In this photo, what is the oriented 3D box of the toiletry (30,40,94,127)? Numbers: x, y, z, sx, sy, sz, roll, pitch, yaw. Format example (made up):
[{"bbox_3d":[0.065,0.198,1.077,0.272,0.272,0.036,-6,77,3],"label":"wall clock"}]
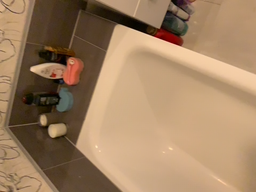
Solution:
[{"bbox_3d":[-0.380,-0.070,1.200,0.220,0.160,0.410,30,108,32],"label":"toiletry"}]
